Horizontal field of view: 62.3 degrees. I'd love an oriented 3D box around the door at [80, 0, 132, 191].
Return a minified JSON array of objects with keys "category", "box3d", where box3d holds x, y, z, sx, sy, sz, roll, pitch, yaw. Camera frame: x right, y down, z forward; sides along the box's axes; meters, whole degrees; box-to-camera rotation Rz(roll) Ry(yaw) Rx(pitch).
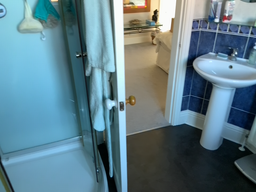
[{"category":"door","box3d":[-0.160,-0.220,1.310,0.100,2.020,0.830,-9,31,-15]}]
